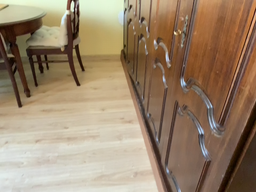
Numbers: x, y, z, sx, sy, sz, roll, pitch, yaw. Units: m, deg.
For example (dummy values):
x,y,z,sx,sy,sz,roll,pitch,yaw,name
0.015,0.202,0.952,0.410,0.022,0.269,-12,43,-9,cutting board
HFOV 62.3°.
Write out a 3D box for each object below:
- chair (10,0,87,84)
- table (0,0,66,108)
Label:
x,y,z,sx,sy,sz,roll,pitch,yaw,name
-0.790,-0.660,2.320,0.570,0.930,0.490,-1,34,-5,chair
-1.650,-0.490,2.180,1.680,0.760,1.040,0,34,-3,table
